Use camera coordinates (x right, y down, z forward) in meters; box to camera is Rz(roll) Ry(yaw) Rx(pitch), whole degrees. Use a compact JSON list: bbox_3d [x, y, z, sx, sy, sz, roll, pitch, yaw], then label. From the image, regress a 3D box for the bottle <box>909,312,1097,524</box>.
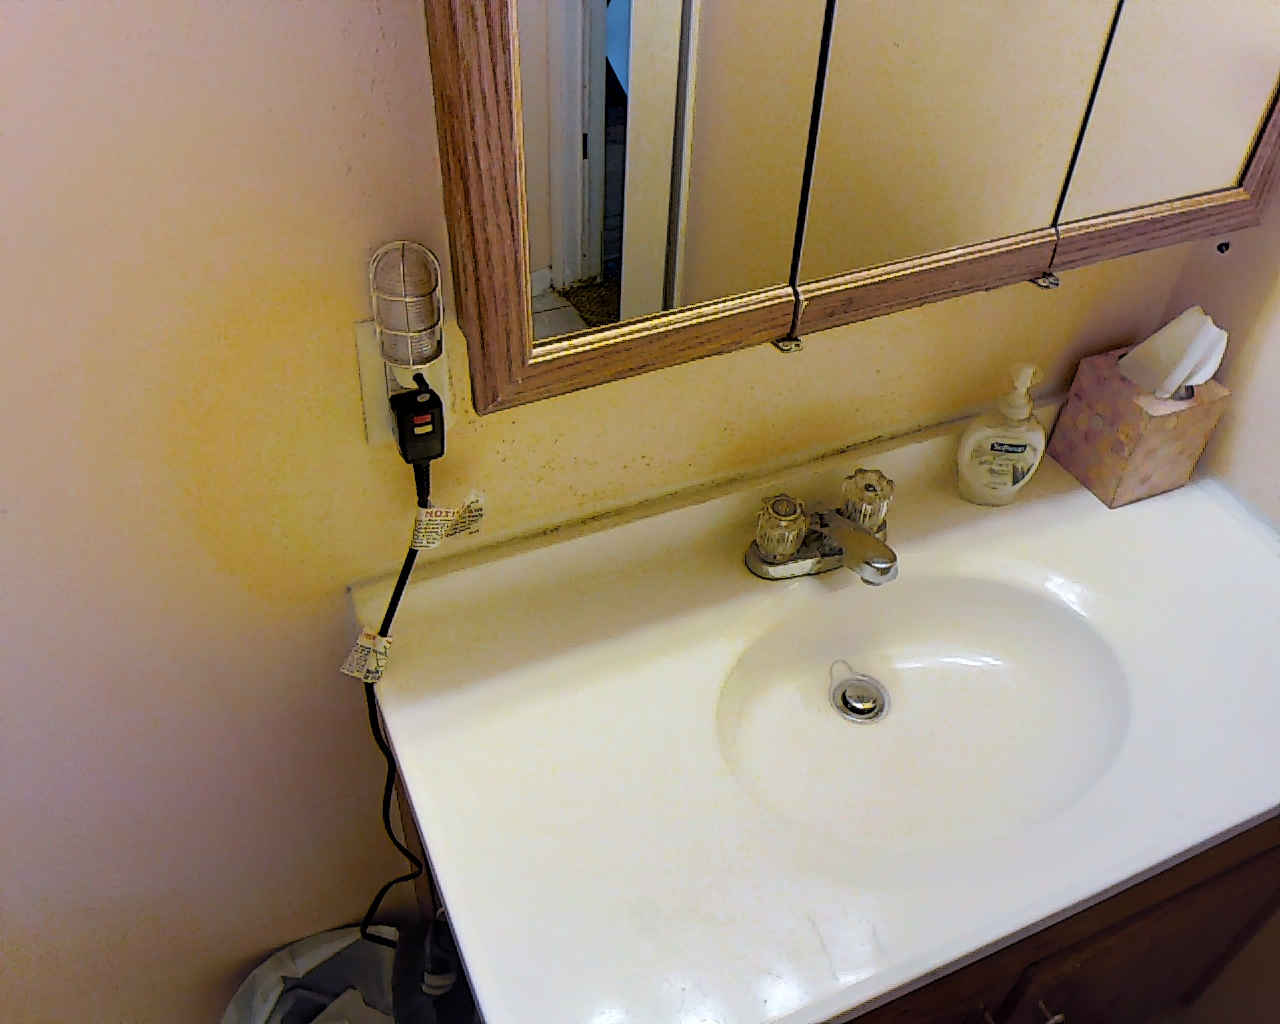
[{"bbox_3d":[0.380,-0.100,1.150,0.100,0.170,0.120,-15,46,-19],"label":"bottle"}]
